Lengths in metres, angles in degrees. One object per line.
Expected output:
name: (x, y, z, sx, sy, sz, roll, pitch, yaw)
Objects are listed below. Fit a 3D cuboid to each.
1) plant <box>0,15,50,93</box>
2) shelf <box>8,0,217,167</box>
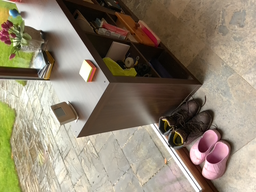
plant: (-0.670, -0.240, 1.300, 0.350, 0.200, 0.280, -54, 56, 33)
shelf: (-0.230, -0.390, 1.540, 1.560, 0.770, 0.460, 55, 127, 29)
